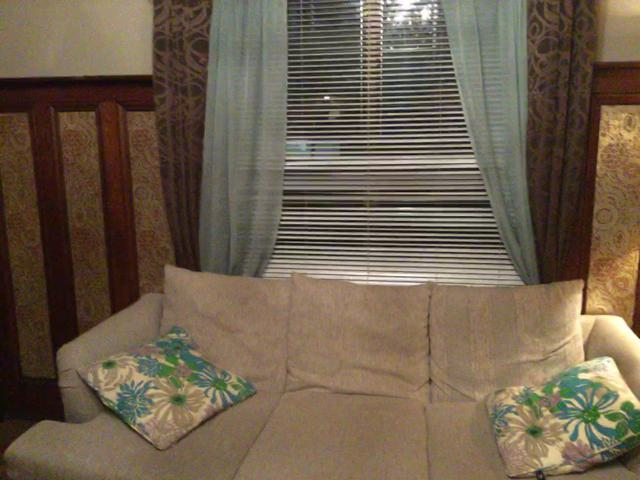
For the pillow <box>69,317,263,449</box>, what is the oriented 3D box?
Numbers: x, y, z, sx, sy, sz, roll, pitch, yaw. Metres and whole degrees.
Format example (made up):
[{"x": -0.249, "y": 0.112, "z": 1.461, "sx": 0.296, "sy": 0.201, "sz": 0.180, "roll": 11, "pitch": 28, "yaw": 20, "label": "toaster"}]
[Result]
[{"x": -0.560, "y": 0.500, "z": 2.170, "sx": 0.460, "sy": 0.240, "sz": 0.520, "roll": 5, "pitch": 10, "yaw": 33, "label": "pillow"}]

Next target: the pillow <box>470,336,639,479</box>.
[{"x": 0.760, "y": 0.530, "z": 1.870, "sx": 0.510, "sy": 0.240, "sz": 0.570, "roll": 2, "pitch": 8, "yaw": 13, "label": "pillow"}]

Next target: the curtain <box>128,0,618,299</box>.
[{"x": 0.140, "y": -0.460, "z": 2.290, "sx": 1.800, "sy": 1.270, "sz": 0.240, "roll": 2, "pitch": 8, "yaw": 13, "label": "curtain"}]

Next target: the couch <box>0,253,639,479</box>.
[{"x": 0.110, "y": 0.600, "z": 2.070, "sx": 2.160, "sy": 0.890, "sz": 0.990, "roll": 2, "pitch": 8, "yaw": 13, "label": "couch"}]
